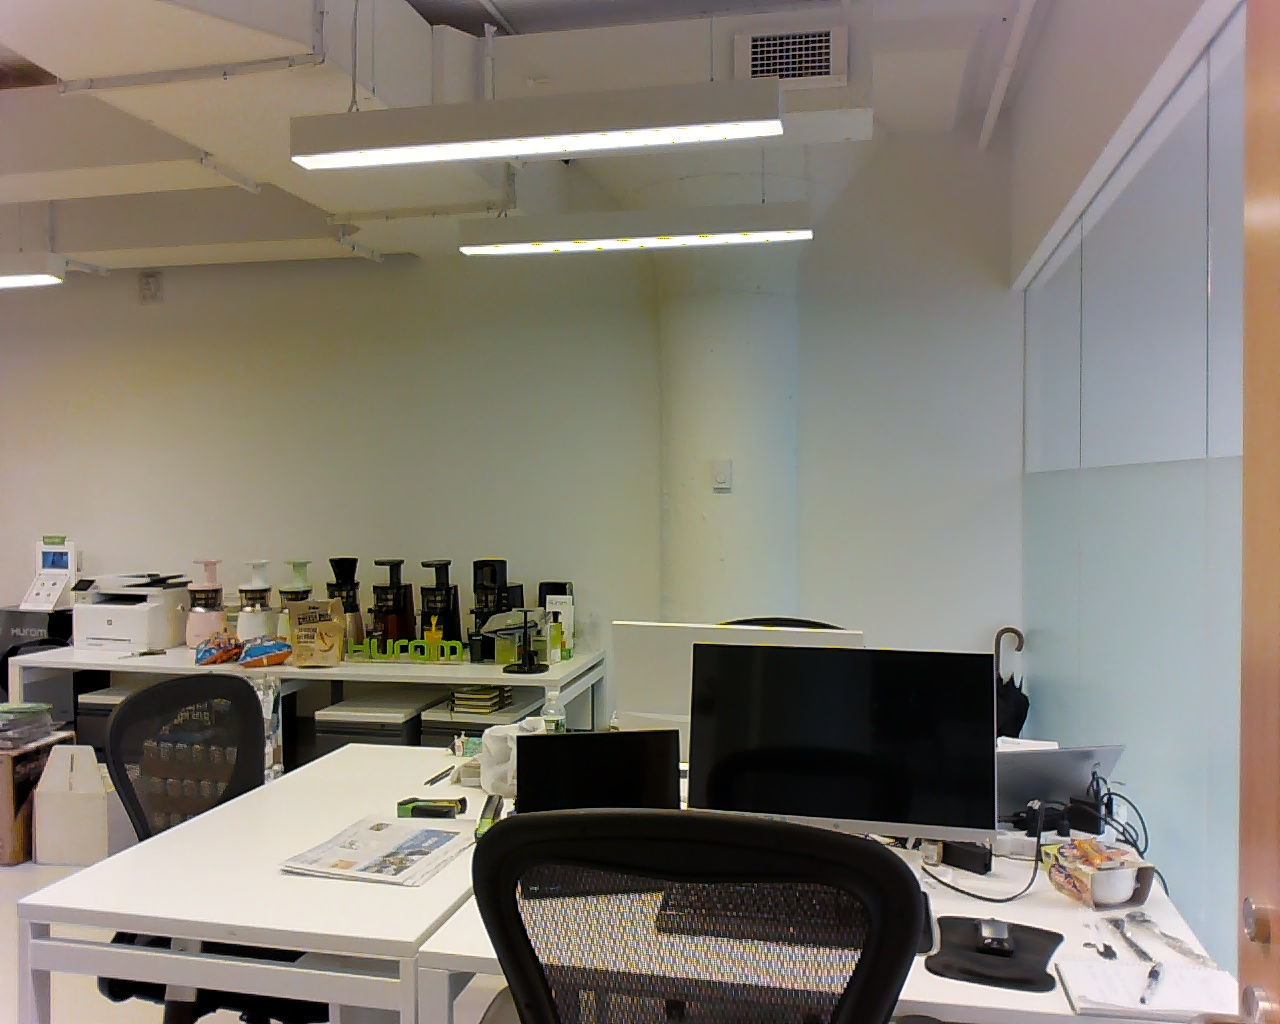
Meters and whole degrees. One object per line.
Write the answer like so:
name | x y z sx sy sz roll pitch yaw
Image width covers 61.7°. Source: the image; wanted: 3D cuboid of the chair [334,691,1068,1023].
chair | 0.120 0.880 1.520 0.790 1.090 0.770 0 1 13

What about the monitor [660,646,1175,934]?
monitor | 0.490 0.490 2.000 0.870 0.420 0.270 0 1 12
